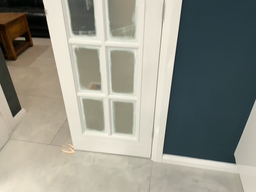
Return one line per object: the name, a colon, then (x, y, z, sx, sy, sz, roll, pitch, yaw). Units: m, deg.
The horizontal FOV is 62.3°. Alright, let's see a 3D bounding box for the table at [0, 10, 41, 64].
table: (-1.960, -0.900, 3.090, 0.960, 0.510, 0.760, 5, 34, 8)
